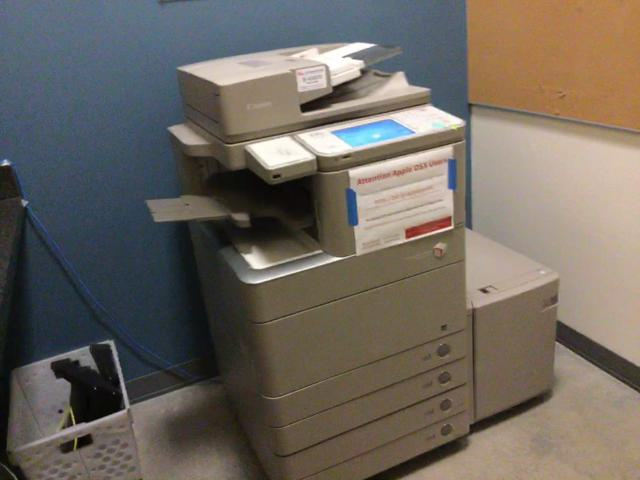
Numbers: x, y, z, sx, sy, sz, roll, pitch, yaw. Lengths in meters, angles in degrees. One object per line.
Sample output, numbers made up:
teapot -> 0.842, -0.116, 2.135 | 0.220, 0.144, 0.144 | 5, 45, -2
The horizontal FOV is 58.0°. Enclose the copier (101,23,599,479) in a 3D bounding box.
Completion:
copier -> 0.100, 0.050, 1.760 | 1.160, 1.190, 0.680 | -14, 22, -19
